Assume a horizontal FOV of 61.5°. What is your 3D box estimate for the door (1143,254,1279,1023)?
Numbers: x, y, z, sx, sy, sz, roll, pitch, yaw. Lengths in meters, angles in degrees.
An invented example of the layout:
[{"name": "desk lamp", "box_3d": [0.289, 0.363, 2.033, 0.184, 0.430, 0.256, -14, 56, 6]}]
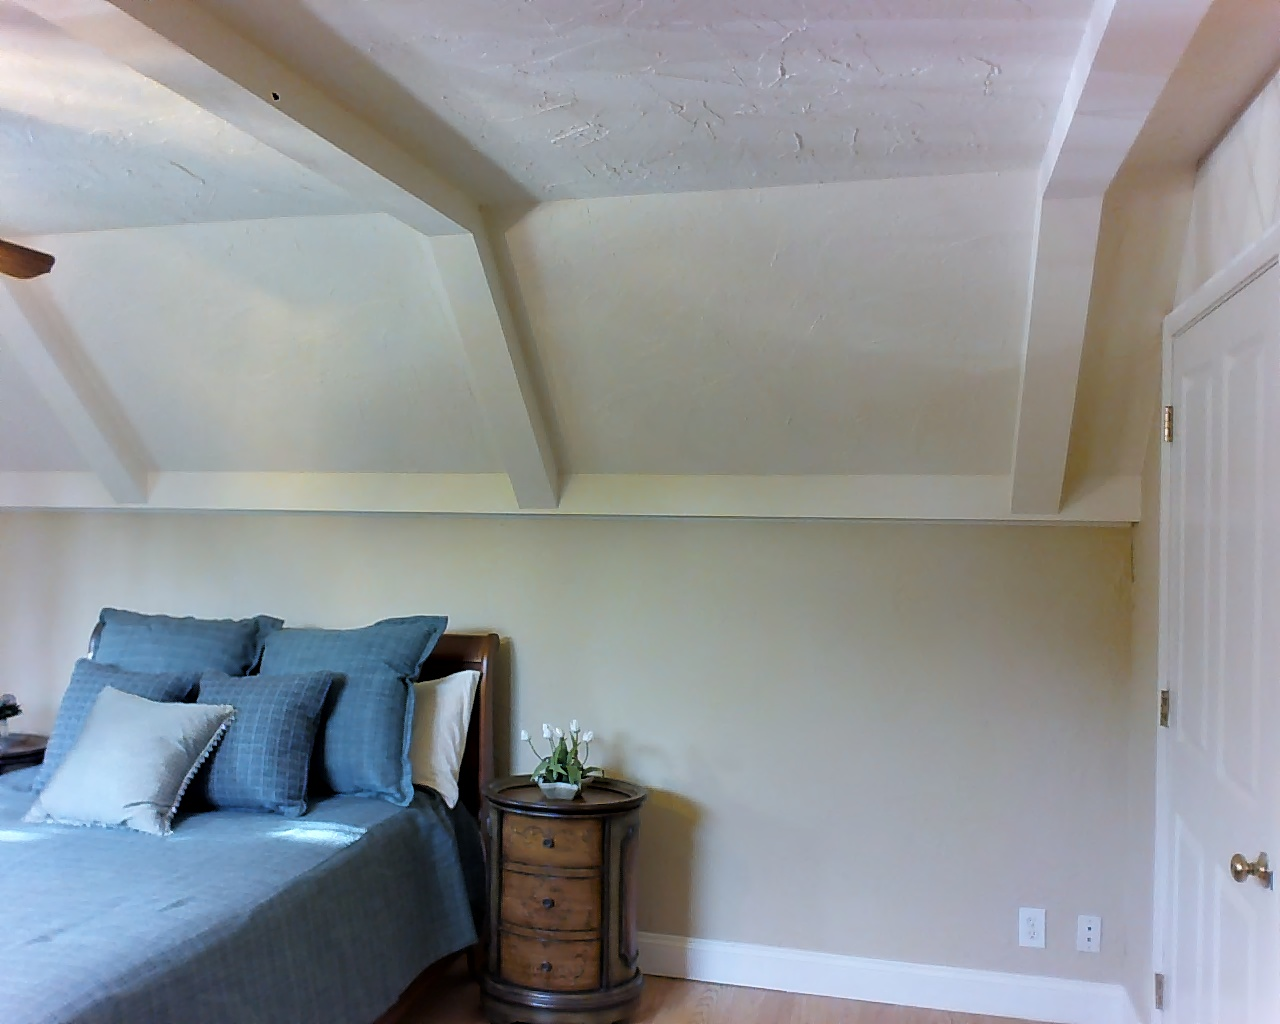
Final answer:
[{"name": "door", "box_3d": [1.280, 0.560, 2.430, 0.050, 2.050, 1.020, 1, 0, 14]}]
